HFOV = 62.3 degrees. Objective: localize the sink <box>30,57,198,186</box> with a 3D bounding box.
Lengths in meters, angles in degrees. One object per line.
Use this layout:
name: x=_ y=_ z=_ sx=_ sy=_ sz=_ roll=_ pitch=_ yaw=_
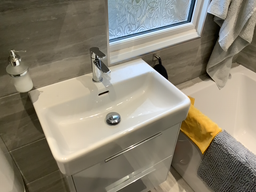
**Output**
sink: x=-0.060 y=0.050 z=0.890 sx=0.560 sy=0.140 sz=0.370 roll=-21 pitch=46 yaw=-24
